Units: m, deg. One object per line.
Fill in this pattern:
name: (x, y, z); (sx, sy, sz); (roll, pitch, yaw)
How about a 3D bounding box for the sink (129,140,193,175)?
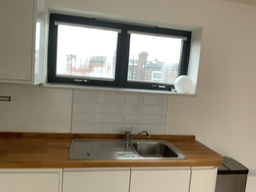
sink: (0.280, 0.560, 1.990); (0.460, 0.160, 0.430); (3, 6, -12)
